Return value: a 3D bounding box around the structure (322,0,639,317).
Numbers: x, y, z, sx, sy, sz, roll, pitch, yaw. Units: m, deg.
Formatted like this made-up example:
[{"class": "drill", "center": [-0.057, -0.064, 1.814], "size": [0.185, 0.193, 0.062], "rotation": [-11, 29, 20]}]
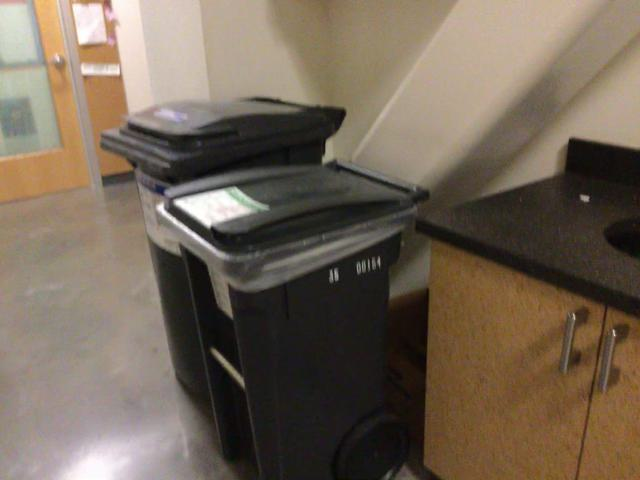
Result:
[{"class": "structure", "center": [0.540, -0.500, 1.390], "size": [0.360, 1.080, 1.340], "rotation": [-16, 24, -31]}]
